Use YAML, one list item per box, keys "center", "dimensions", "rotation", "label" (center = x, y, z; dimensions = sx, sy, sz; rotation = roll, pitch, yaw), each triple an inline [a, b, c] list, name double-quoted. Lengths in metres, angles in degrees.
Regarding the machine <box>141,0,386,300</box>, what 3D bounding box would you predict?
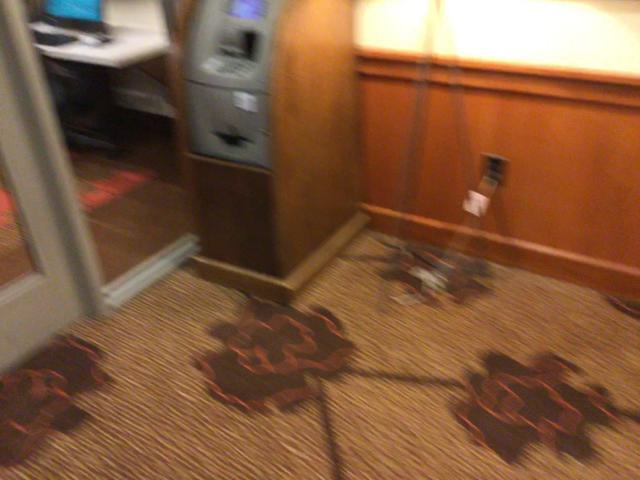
- center: [-0.220, -0.570, 2.360]
  dimensions: [0.570, 1.520, 0.510]
  rotation: [0, 20, 34]
  label: "machine"
